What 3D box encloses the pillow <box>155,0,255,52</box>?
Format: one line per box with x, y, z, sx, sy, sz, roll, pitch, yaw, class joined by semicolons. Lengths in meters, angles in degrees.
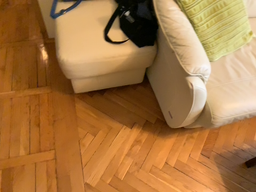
0.450;-0.410;1.190;0.450;0.400;0.200;-14;98;-13;pillow
